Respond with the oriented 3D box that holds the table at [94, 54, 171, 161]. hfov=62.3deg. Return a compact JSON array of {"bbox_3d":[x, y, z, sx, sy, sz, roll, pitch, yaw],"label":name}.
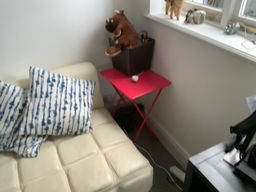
[{"bbox_3d":[0.020,0.080,1.880,0.360,0.660,0.590,-20,39,-24],"label":"table"}]
